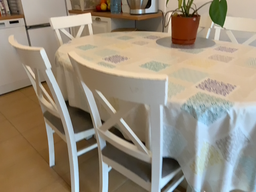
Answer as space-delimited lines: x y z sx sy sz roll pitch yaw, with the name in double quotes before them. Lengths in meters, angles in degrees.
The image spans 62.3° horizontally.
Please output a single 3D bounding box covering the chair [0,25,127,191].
"chair" -0.330 0.080 1.280 0.440 0.890 0.460 24 35 39
